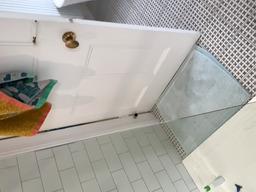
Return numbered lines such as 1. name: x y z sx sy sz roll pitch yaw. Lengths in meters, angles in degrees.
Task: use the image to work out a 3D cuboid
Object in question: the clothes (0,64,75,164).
1. clothes: -0.720 0.130 0.890 0.170 0.870 0.530 61 140 30
